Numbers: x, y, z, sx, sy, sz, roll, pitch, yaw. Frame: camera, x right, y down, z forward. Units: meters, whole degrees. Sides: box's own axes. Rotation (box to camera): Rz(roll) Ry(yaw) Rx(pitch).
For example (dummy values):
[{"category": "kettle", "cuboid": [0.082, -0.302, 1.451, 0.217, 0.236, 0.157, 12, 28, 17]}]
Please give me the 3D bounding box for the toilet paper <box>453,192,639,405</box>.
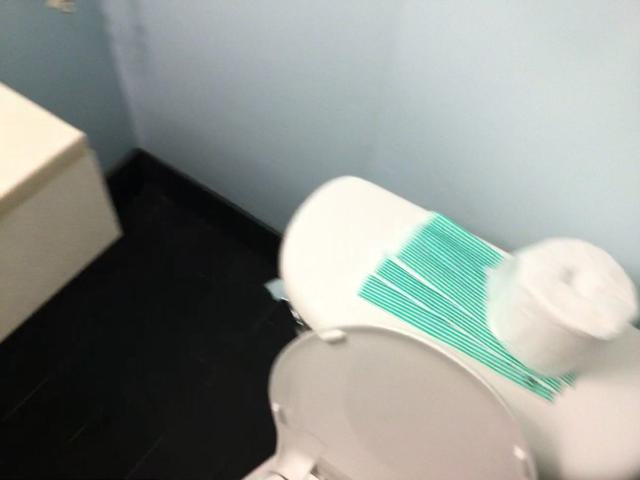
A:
[{"category": "toilet paper", "cuboid": [0.250, 0.060, 0.610, 0.150, 0.110, 0.130, 31, 57, 16]}]
